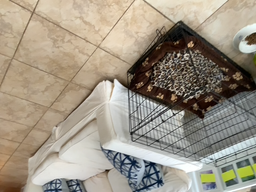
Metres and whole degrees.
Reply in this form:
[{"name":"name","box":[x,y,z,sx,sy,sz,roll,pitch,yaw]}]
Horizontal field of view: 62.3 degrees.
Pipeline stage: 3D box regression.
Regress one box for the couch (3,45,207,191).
[{"name":"couch","box":[-0.450,0.630,2.150,0.990,0.740,2.060,23,136,-29]}]
